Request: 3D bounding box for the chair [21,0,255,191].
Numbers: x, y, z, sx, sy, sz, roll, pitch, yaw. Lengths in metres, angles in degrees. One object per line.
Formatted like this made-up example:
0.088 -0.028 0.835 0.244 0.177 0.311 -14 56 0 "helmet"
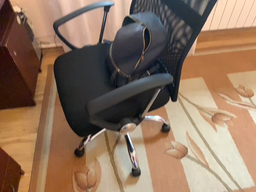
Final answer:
0.010 -0.200 0.970 0.700 1.170 0.680 -23 55 -17 "chair"
